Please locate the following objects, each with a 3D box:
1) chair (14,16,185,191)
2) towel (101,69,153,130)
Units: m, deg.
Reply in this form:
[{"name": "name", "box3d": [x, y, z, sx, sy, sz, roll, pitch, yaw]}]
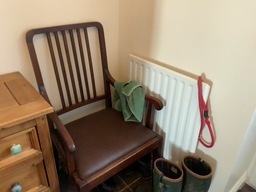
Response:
[{"name": "chair", "box3d": [-0.170, 0.130, 1.270, 0.590, 1.030, 0.590, -20, 37, -34]}, {"name": "towel", "box3d": [-0.020, 0.010, 1.390, 0.150, 0.250, 0.340, -21, 37, -35]}]
